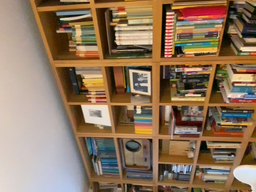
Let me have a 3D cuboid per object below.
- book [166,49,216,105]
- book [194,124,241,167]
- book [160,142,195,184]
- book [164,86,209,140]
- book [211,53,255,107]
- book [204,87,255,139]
[{"bbox_3d":[0.490,-0.160,1.740,0.360,0.320,0.320,-79,-13,-54],"label":"book"},{"bbox_3d":[0.900,0.510,2.190,0.270,0.350,0.340,-80,-12,-51],"label":"book"},{"bbox_3d":[0.550,0.770,2.450,0.300,0.350,0.340,-79,-13,-55],"label":"book"},{"bbox_3d":[0.510,0.150,1.960,0.350,0.340,0.340,-80,-12,-53],"label":"book"},{"bbox_3d":[0.860,-0.120,1.630,0.250,0.330,0.330,-80,-12,-52],"label":"book"},{"bbox_3d":[0.900,0.150,1.900,0.290,0.330,0.360,-82,-11,-48],"label":"book"}]
